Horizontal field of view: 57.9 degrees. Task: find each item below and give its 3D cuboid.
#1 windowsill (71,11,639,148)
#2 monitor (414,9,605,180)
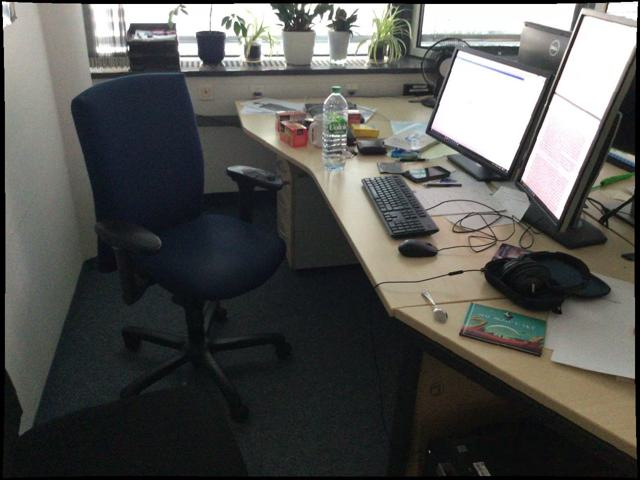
[{"bbox_3d":[0.430,-0.951,3.270,3.287,0.470,0.630,-5,30,-8],"label":"windowsill"},{"bbox_3d":[0.609,-0.541,2.030,0.270,0.410,0.660,-9,30,-14],"label":"monitor"}]
